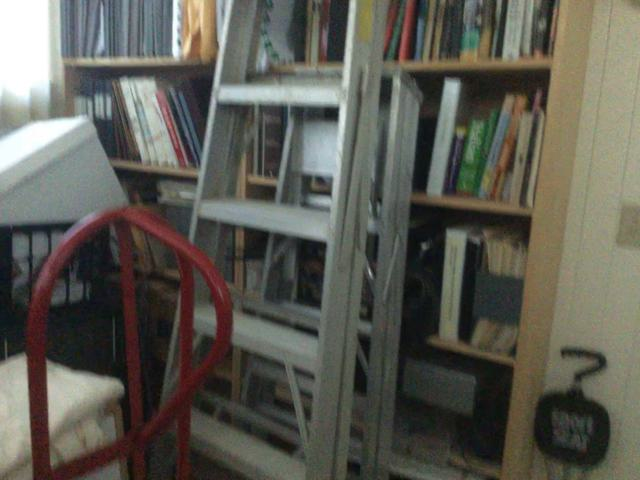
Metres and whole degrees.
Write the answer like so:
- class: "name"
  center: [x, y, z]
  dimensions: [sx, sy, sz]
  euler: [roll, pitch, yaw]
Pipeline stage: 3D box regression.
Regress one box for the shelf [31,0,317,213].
- class: "shelf"
  center: [-0.520, -0.860, 1.940]
  dimensions: [1.000, 1.400, 0.350]
  euler: [10, 13, 32]
